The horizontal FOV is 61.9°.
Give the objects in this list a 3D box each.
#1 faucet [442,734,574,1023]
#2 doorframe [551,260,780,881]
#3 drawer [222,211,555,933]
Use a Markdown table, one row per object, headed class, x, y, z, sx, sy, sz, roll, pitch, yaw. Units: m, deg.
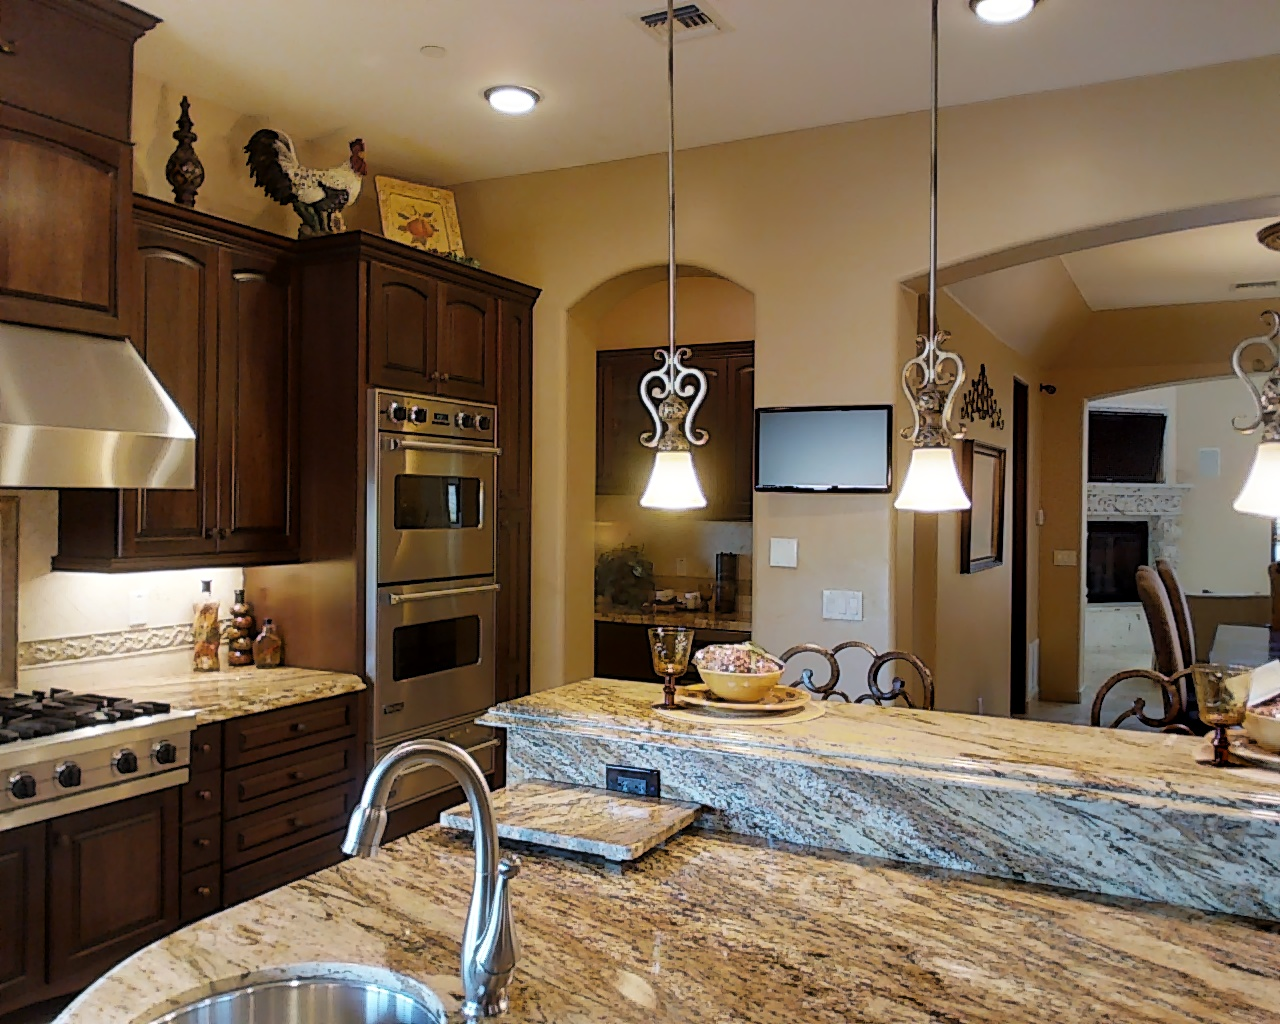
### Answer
| class | x | y | z | sx | sy | sz | roll | pitch | yaw |
| --- | --- | --- | --- | --- | --- | --- | --- | --- | --- |
| faucet | -0.170 | 0.460 | 1.350 | 0.130 | 0.320 | 0.150 | 1 | 0 | -20 |
| doorframe | 0.100 | 0.230 | 4.660 | 0.940 | 2.520 | 0.240 | 1 | 0 | 28 |
| drawer | -0.980 | 0.210 | 4.420 | 0.620 | 2.520 | 1.250 | 1 | 0 | 28 |
